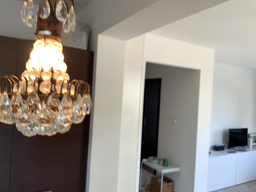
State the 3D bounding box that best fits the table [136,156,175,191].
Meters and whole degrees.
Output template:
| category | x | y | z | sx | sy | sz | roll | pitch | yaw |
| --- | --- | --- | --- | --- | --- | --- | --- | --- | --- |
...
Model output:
| category | x | y | z | sx | sy | sz | roll | pitch | yaw |
| --- | --- | --- | --- | --- | --- | --- | --- | --- | --- |
| table | 0.490 | 1.470 | 3.940 | 0.380 | 0.510 | 0.680 | 4 | 0 | -27 |
